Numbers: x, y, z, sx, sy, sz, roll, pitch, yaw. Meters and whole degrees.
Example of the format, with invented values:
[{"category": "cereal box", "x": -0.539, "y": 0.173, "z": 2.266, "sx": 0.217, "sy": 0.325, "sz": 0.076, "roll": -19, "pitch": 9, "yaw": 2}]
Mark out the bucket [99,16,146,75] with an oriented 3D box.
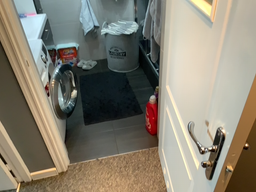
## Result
[{"category": "bucket", "x": -0.070, "y": -0.720, "z": 3.010, "sx": 0.530, "sy": 0.620, "sz": 0.460, "roll": -12, "pitch": 39, "yaw": -11}]
